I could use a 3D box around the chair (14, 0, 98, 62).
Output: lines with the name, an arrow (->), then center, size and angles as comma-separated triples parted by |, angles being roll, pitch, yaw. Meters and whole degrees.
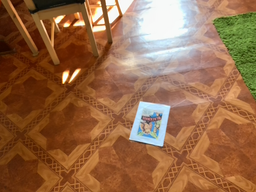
chair -> -0.540, -0.750, 1.590 | 0.430, 0.860, 0.440 | -11, 54, -2
